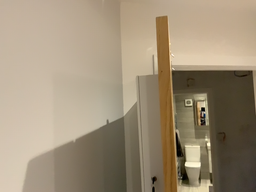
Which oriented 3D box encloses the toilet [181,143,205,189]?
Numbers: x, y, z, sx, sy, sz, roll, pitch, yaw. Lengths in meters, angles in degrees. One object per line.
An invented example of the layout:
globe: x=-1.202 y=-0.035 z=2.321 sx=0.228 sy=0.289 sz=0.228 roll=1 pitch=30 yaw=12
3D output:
toilet: x=1.550 y=1.640 z=5.090 sx=0.470 sy=0.920 sz=0.610 roll=-3 pitch=-4 yaw=18

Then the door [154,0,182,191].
door: x=0.220 y=0.740 z=0.920 sx=0.050 sy=2.030 sz=0.780 roll=-3 pitch=-4 yaw=12
